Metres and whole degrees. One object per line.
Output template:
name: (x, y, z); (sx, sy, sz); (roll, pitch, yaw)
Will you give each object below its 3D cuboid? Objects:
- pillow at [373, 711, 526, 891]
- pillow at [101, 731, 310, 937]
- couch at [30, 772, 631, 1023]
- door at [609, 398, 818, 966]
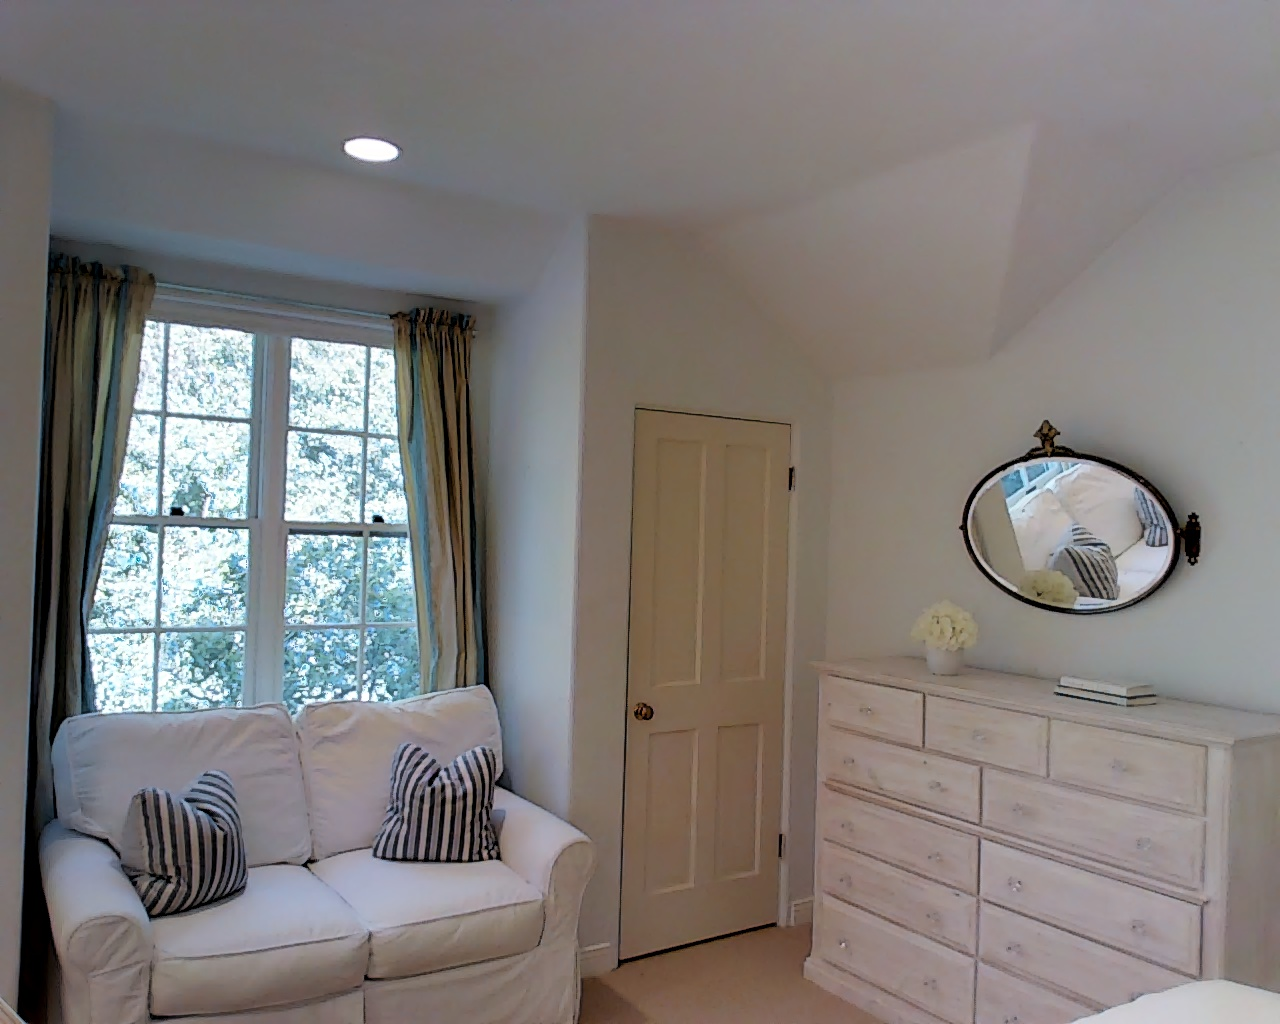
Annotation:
pillow: (-0.640, 0.950, 3.580); (0.400, 0.420, 0.300); (-11, 7, -16)
pillow: (-1.240, 0.920, 3.110); (0.250, 0.370, 0.450); (-12, 11, 17)
couch: (-0.900, 1.290, 3.280); (1.600, 0.660, 0.720); (2, -1, -36)
door: (0.310, 0.630, 4.180); (0.910, 2.071, 0.050); (2, -1, -33)
